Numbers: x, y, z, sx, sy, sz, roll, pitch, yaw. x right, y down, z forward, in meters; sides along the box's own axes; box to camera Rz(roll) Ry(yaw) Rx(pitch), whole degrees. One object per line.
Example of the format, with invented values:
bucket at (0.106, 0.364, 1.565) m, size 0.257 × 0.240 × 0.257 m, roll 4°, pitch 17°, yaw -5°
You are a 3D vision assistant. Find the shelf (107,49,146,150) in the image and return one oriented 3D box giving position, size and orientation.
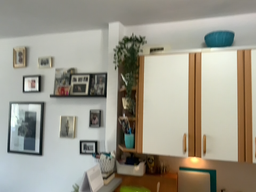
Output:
shelf at (0.000, 0.030, 1.710) m, size 0.210 × 0.730 × 0.310 m, roll 0°, pitch -3°, yaw 18°
